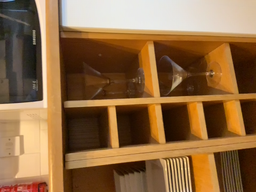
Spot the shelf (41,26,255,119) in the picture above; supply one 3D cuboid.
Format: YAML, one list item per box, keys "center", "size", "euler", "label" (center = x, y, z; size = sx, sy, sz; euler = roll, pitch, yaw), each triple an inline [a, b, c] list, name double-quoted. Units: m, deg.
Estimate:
- center: [0.170, -0.040, 0.820]
  size: [0.570, 0.860, 0.160]
  euler: [144, 122, -73]
  label: "shelf"
